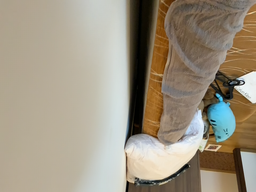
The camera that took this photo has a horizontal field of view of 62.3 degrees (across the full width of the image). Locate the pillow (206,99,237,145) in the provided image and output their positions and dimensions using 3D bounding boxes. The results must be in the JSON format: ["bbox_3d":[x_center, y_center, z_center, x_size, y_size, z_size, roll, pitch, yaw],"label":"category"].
[{"bbox_3d":[0.810,0.240,1.820,0.200,0.190,0.470,-8,144,23],"label":"pillow"}]
